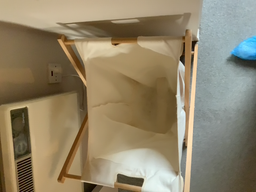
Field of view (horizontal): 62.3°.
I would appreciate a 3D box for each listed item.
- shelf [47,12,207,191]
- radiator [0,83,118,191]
[{"bbox_3d":[0.070,0.030,0.940,0.480,0.600,0.570,-2,98,17],"label":"shelf"},{"bbox_3d":[-0.260,0.280,1.010,0.160,0.660,0.620,-3,97,17],"label":"radiator"}]
